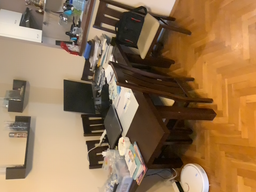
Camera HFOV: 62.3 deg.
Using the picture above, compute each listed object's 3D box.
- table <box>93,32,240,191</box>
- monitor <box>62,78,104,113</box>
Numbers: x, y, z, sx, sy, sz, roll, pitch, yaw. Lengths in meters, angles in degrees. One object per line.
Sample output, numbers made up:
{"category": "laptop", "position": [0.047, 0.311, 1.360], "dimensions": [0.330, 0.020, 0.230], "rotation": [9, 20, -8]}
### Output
{"category": "table", "position": [0.200, 0.090, 2.460], "dimensions": [1.720, 0.770, 0.870], "rotation": [-114, 38, -47]}
{"category": "monitor", "position": [-0.590, -0.010, 2.730], "dimensions": [0.050, 0.450, 0.560], "rotation": [-62, 37, 35]}
